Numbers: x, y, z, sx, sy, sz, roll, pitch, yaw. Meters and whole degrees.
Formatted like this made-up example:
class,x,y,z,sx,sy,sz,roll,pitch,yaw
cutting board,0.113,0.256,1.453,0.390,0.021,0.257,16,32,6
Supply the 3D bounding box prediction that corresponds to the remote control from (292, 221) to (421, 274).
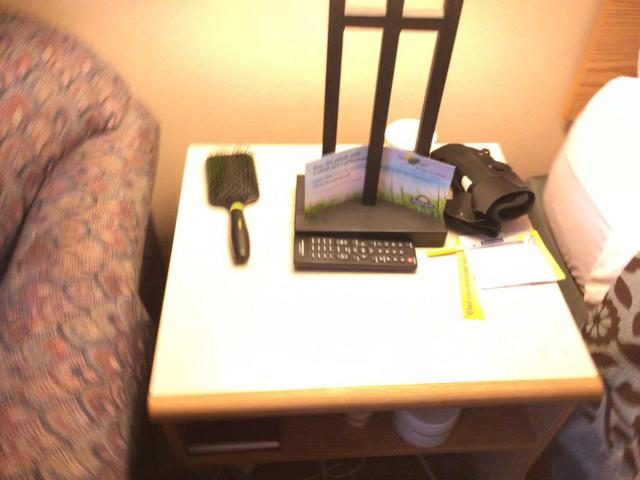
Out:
class,x,y,z,sx,sy,sz,roll,pitch,yaw
remote control,0.050,0.010,0.840,0.180,0.030,0.070,-2,43,-2
